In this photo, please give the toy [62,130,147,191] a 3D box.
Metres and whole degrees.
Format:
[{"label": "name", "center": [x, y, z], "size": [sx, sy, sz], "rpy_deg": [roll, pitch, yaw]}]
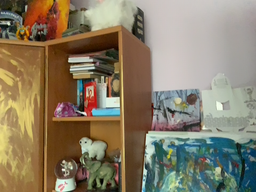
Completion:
[{"label": "toy", "center": [-0.100, 0.310, 1.020], "size": [0.300, 0.270, 0.280], "rpy_deg": [-3, -6, 24]}]
